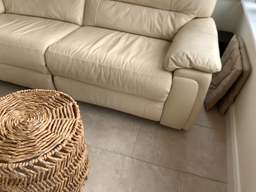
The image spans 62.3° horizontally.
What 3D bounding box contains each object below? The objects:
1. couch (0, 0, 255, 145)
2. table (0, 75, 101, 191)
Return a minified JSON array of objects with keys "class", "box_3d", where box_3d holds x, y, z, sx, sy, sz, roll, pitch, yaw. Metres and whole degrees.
[{"class":"couch","box_3d":[-0.360,-0.600,1.670,2.060,0.950,1.030,14,44,12]},{"class":"table","box_3d":[-0.460,0.260,1.070,0.480,0.460,0.470,13,43,10]}]
